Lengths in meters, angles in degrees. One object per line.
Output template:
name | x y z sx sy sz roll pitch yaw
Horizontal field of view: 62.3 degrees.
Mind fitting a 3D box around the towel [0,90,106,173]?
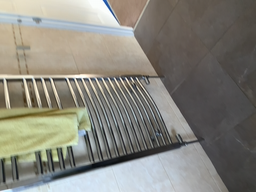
towel | -0.410 0.140 0.970 0.300 0.530 0.140 62 140 32
